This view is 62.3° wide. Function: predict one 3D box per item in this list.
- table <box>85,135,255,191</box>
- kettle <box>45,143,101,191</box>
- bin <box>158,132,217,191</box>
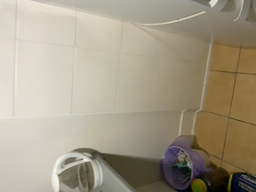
[{"bbox_3d":[0.310,0.630,1.180,0.770,0.850,0.500,18,105,55],"label":"table"},{"bbox_3d":[-0.290,0.410,1.110,0.150,0.230,0.250,22,108,54],"label":"kettle"},{"bbox_3d":[0.430,0.470,1.550,0.230,0.280,0.320,26,112,53],"label":"bin"}]
